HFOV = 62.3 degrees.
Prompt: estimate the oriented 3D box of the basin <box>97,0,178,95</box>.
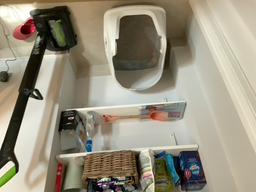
[{"bbox_3d":[0.050,-0.360,1.530,0.450,0.400,0.590,-4,143,-1],"label":"basin"}]
